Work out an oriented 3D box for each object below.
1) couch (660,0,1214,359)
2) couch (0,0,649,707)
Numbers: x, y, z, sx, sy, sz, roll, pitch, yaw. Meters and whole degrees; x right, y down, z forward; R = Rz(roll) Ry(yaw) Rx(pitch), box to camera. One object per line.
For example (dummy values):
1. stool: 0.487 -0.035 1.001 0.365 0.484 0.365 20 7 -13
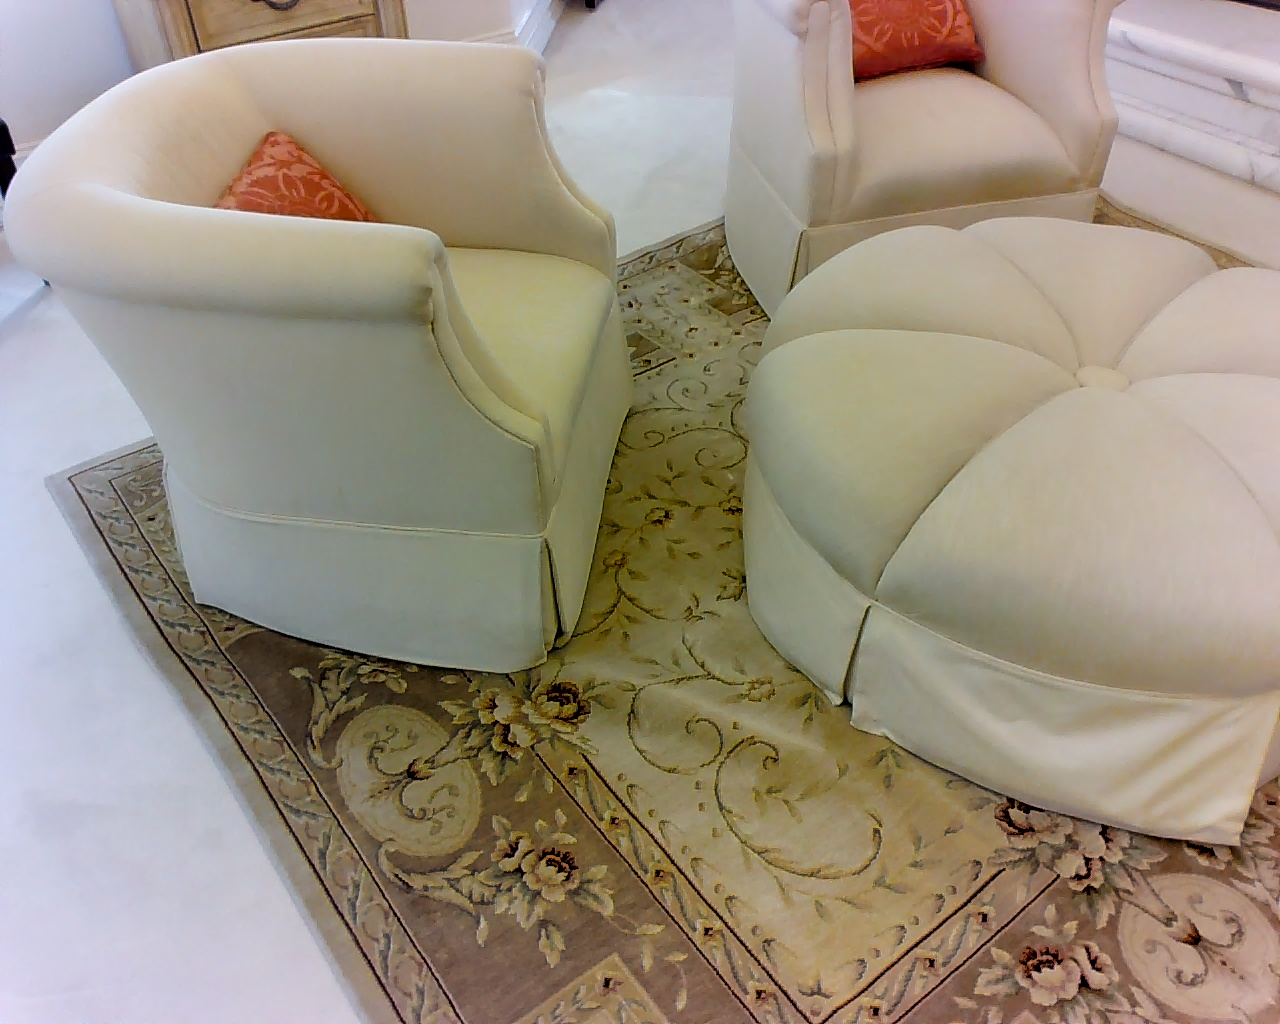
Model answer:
1. couch: 0.650 -1.070 2.760 0.950 0.830 0.940 -10 43 -12
2. couch: -0.510 -0.320 1.930 0.950 0.840 0.920 5 42 5
